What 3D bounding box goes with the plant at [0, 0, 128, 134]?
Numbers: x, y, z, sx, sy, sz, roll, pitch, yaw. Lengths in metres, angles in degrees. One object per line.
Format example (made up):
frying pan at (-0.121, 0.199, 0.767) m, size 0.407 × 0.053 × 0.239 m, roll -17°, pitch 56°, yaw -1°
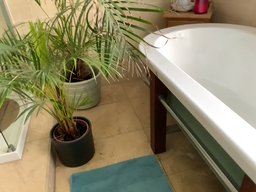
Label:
plant at (-0.440, -0.290, 1.590) m, size 0.720 × 0.850 × 0.560 m, roll -10°, pitch 33°, yaw -8°
